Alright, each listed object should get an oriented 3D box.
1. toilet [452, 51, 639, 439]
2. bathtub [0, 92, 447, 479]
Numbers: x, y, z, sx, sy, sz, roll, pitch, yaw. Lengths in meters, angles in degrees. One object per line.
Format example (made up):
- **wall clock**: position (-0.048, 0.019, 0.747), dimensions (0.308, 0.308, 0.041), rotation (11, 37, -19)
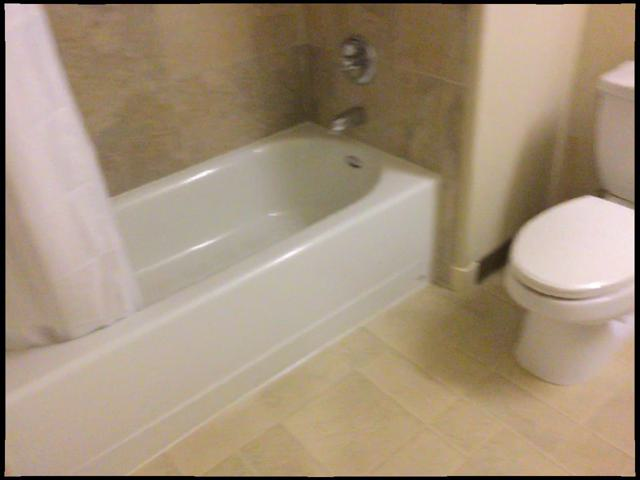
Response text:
- **toilet**: position (0.868, -0.030, 1.730), dimensions (0.799, 0.771, 0.490), rotation (-29, 41, -29)
- **bathtub**: position (-0.379, 0.080, 1.960), dimensions (1.509, 0.561, 0.770), rotation (-29, 41, -29)
